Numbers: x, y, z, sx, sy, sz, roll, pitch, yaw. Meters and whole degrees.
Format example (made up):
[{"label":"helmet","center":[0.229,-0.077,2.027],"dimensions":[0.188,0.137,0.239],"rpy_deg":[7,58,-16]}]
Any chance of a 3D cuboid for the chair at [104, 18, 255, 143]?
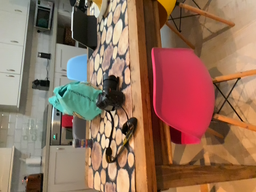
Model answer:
[{"label":"chair","center":[0.340,0.010,1.180],"dimensions":[0.530,0.790,0.430],"rpy_deg":[-34,55,57]}]
